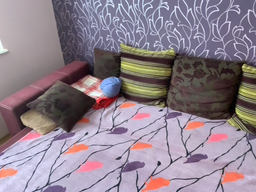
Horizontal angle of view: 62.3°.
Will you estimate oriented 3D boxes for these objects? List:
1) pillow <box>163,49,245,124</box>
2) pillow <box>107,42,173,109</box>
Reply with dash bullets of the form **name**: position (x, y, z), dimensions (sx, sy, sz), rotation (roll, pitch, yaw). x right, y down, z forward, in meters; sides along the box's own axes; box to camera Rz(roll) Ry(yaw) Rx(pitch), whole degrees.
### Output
- **pillow**: position (0.610, -0.080, 1.780), dimensions (0.500, 0.460, 0.190), rotation (20, 36, 13)
- **pillow**: position (0.100, -0.200, 2.010), dimensions (0.490, 0.430, 0.260), rotation (22, 36, 14)
